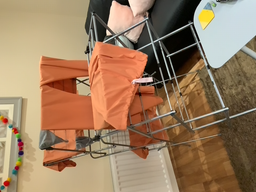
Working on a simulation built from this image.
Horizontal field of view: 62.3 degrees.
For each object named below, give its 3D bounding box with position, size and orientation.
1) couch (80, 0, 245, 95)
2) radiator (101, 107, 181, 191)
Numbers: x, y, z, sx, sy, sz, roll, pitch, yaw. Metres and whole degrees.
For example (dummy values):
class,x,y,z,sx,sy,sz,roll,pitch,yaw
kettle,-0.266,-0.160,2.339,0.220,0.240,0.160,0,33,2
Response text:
class,x,y,z,sx,sy,sz,roll,pitch,yaw
couch,0.130,-0.750,1.920,1.500,0.900,0.850,121,143,-56
radiator,0.120,0.650,2.270,0.160,0.670,1.100,120,144,-55
